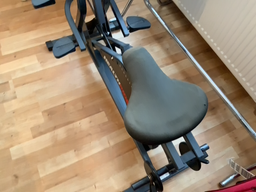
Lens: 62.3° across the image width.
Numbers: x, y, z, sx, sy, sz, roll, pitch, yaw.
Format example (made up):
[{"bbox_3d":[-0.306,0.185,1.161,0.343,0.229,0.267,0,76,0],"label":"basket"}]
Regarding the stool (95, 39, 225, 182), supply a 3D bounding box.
[{"bbox_3d":[0.070,0.100,0.890,0.280,0.500,0.350,-21,67,-16],"label":"stool"}]
